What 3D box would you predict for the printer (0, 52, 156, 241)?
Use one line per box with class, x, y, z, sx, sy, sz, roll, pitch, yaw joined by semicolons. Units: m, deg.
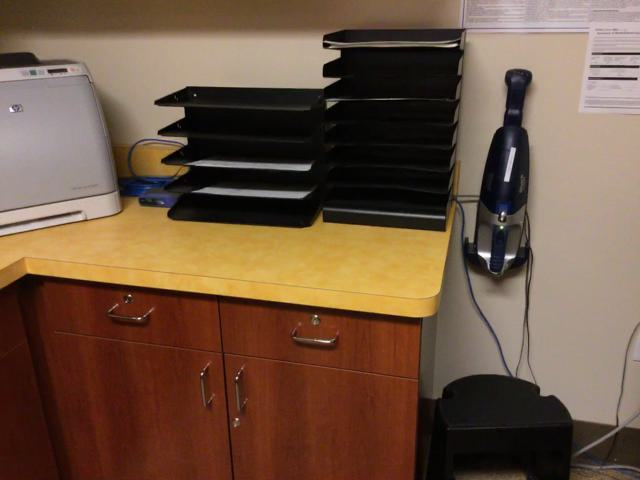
printer;-0.760;-0.270;1.510;0.470;0.390;0.440;-15;25;-32
